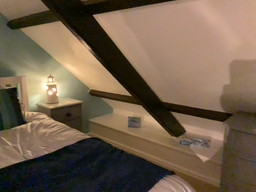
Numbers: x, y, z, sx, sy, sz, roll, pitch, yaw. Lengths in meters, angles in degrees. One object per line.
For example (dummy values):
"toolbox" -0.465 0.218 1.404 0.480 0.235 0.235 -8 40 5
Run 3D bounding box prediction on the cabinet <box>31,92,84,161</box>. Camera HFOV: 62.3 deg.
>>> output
"cabinet" -0.840 0.340 2.590 0.370 0.670 0.440 9 15 38
